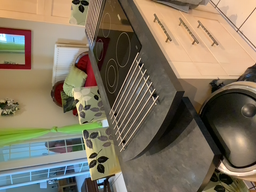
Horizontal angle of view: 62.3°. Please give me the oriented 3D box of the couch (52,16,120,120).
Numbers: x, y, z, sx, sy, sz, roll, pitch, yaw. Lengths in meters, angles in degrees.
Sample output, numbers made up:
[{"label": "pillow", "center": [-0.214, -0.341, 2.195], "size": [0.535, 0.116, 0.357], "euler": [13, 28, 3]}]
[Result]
[{"label": "couch", "center": [-0.870, -0.410, 3.880], "size": [0.710, 0.820, 1.770], "euler": [67, 147, 36]}]

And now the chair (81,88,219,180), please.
[{"label": "chair", "center": [0.150, 0.290, 1.780], "size": [0.550, 0.930, 0.430], "euler": [-63, 38, 45]}]

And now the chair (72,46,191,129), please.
[{"label": "chair", "center": [0.000, -0.080, 2.050], "size": [0.570, 0.920, 0.460], "euler": [-63, 38, 45]}]
